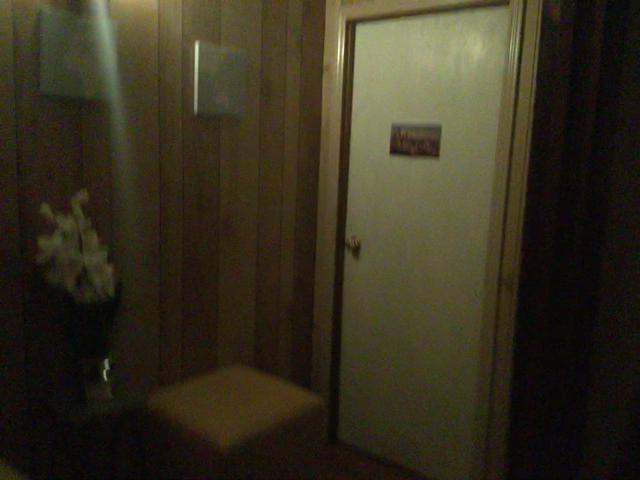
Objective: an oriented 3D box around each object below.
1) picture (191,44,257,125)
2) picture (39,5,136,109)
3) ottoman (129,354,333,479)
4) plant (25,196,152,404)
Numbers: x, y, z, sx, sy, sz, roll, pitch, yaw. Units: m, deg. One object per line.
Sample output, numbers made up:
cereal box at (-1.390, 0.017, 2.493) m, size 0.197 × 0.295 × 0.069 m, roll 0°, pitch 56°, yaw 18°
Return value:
picture at (-0.370, -0.600, 2.270) m, size 0.040 × 0.280 × 0.290 m, roll 4°, pitch 9°, yaw 39°
picture at (-0.730, -0.570, 1.840) m, size 0.050 × 0.280 × 0.280 m, roll 4°, pitch 9°, yaw 39°
ottoman at (-0.330, 0.840, 2.230) m, size 0.540 × 0.580 × 0.530 m, roll 4°, pitch 9°, yaw 39°
plant at (-0.740, 0.170, 1.870) m, size 0.180 × 0.610 × 0.290 m, roll 4°, pitch 9°, yaw 39°
